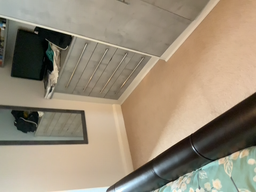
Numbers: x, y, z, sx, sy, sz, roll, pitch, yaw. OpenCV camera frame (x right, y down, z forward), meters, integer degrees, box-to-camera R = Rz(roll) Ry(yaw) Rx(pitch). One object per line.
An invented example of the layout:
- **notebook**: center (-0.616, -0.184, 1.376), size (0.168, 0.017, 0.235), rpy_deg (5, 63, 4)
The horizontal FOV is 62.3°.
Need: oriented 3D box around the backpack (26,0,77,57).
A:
- **backpack**: center (-0.670, -0.620, 1.850), size (0.320, 0.330, 0.380), rpy_deg (-49, 44, 43)
